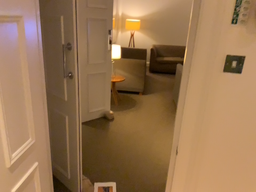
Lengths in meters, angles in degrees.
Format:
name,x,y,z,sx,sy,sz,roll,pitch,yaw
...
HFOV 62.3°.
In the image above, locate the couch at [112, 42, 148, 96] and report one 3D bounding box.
name,x,y,z,sx,sy,sz,roll,pitch,yaw
couch,0.070,-0.740,5.220,0.700,0.930,1.650,4,20,1
